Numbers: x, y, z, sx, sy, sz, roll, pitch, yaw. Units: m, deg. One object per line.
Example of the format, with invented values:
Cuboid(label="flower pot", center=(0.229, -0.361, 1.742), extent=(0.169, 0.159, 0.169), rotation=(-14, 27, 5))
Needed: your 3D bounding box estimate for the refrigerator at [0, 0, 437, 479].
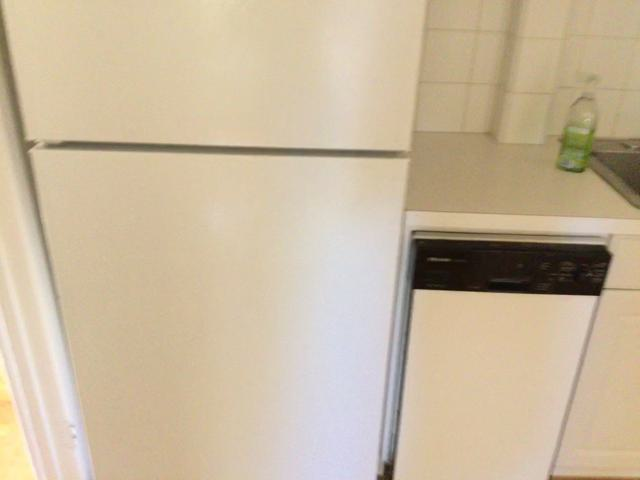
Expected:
Cuboid(label="refrigerator", center=(-0.210, -0.010, 1.350), extent=(0.860, 1.670, 0.460), rotation=(0, 25, 5))
